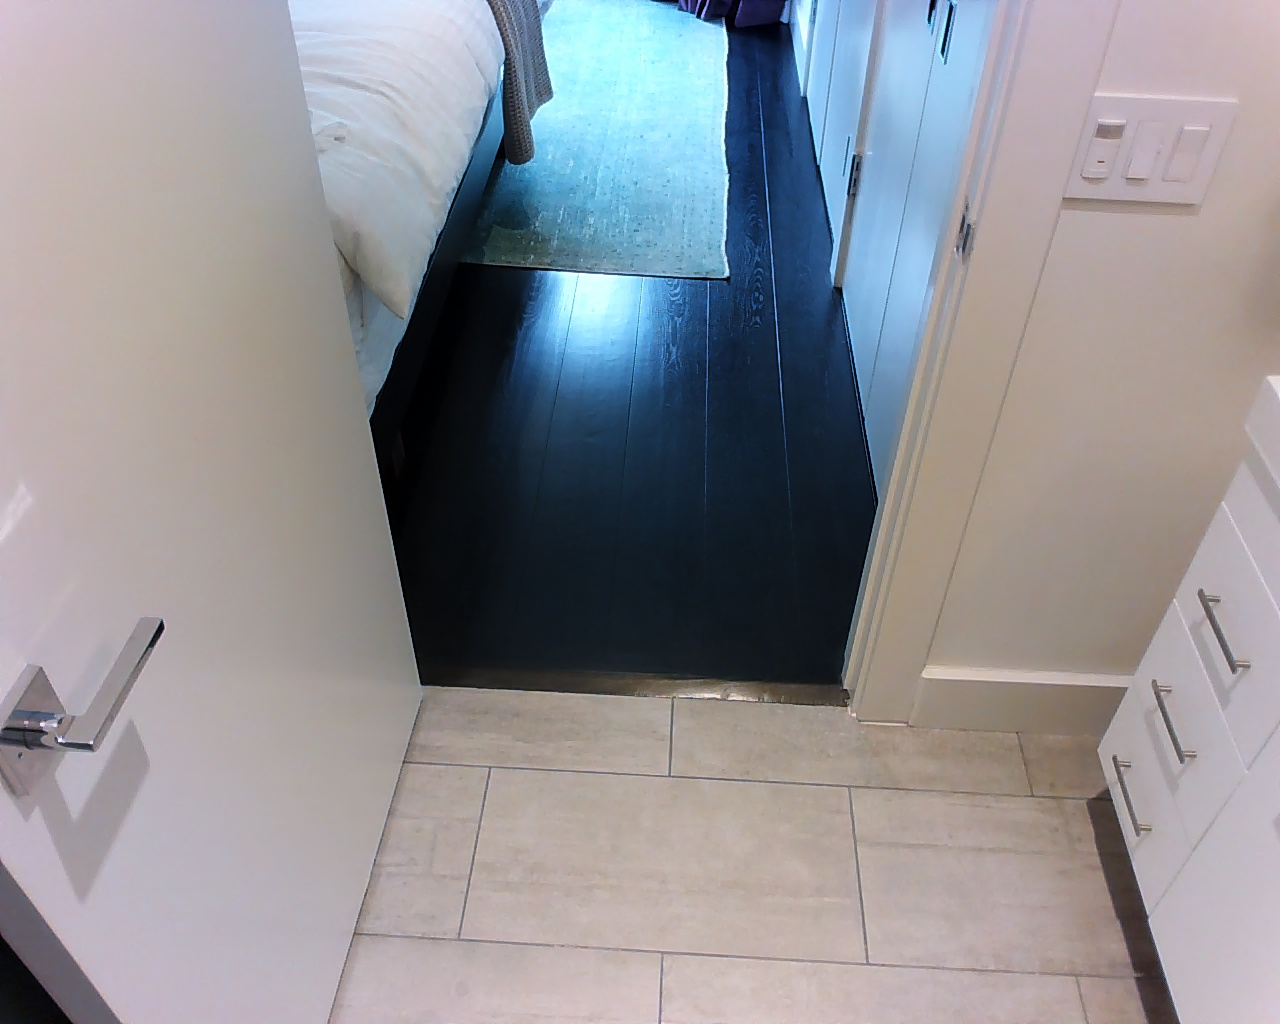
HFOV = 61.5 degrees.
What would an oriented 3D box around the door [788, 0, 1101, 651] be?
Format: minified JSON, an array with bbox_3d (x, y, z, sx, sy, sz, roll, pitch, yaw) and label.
[{"bbox_3d":[0.560,-1.570,2.390,0.060,2.180,3.040,2,42,1],"label":"door"}]
